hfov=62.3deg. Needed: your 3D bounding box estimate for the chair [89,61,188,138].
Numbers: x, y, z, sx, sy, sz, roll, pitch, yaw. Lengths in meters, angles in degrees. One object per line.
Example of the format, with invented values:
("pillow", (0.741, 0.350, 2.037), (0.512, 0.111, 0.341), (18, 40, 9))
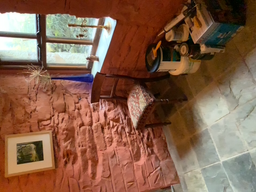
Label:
("chair", (0.070, 0.020, 2.360), (0.550, 0.840, 0.580), (110, 148, -43))
